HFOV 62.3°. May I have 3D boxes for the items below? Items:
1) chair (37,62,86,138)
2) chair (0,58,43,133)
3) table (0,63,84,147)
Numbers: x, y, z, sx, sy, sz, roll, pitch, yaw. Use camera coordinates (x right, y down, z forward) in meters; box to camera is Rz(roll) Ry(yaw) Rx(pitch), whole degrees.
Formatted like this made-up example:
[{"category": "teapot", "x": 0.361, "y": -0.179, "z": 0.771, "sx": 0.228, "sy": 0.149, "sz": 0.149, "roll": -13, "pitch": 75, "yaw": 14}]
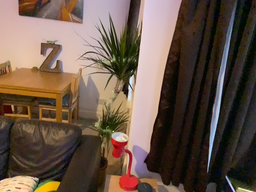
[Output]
[{"category": "chair", "x": -0.850, "y": 0.040, "z": 2.790, "sx": 0.460, "sy": 0.850, "sz": 0.450, "roll": 7, "pitch": 19, "yaw": 2}, {"category": "chair", "x": -1.450, "y": -0.020, "z": 2.790, "sx": 0.440, "sy": 0.850, "sz": 0.450, "roll": 6, "pitch": 19, "yaw": 1}, {"category": "table", "x": -1.140, "y": 0.060, "z": 2.800, "sx": 0.900, "sy": 0.740, "sz": 0.910, "roll": 6, "pitch": 19, "yaw": 0}]
